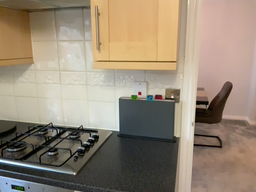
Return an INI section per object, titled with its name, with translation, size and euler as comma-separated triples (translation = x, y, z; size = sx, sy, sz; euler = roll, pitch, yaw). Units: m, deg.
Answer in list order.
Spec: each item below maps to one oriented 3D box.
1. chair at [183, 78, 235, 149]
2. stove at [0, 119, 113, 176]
[chair]
translation = 1.230, 0.240, 3.360
size = 0.620, 0.950, 0.570
euler = 3, 14, 12
[stove]
translation = -0.460, 0.260, 1.260
size = 0.600, 0.030, 0.540
euler = 3, 14, 15
